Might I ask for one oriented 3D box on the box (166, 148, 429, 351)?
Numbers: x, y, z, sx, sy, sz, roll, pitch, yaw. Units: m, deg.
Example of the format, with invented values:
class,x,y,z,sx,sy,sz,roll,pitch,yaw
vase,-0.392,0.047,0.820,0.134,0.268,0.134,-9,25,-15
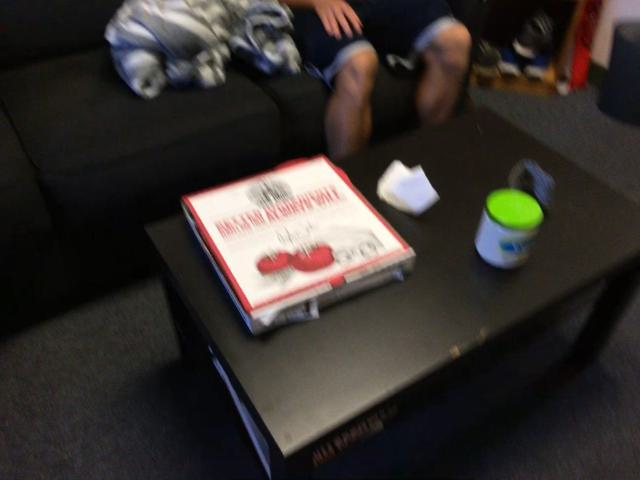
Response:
class,x,y,z,sx,sy,sz,roll,pitch,yaw
box,-0.050,-0.010,1.080,0.340,0.070,0.360,-24,47,-26
